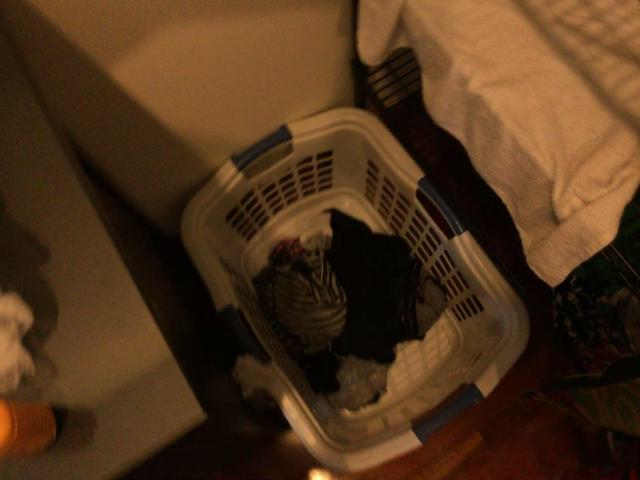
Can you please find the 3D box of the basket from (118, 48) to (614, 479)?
[{"bbox_3d":[0.070,0.090,1.210,0.620,0.360,0.660,-35,71,-7],"label":"basket"}]
